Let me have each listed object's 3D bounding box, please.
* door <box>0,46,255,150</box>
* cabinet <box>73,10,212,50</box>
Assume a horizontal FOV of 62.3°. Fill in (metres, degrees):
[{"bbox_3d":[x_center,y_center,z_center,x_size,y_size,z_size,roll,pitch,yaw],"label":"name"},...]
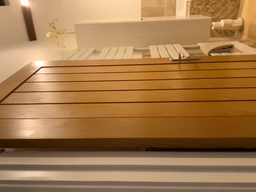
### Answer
[{"bbox_3d":[0.300,-0.080,1.060,0.940,1.930,0.070,-84,-8,-63],"label":"door"},{"bbox_3d":[0.150,-0.750,2.400,0.400,1.410,0.320,-84,-8,-64],"label":"cabinet"}]
